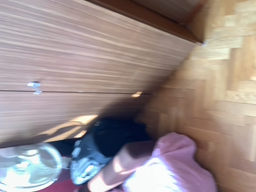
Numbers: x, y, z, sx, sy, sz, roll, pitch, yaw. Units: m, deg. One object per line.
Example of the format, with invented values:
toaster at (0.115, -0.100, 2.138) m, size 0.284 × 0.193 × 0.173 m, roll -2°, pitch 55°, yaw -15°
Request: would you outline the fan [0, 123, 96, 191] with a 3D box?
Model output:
fan at (-0.610, 0.490, 1.370) m, size 0.570 × 0.490 × 0.350 m, roll -44°, pitch 61°, yaw 34°
